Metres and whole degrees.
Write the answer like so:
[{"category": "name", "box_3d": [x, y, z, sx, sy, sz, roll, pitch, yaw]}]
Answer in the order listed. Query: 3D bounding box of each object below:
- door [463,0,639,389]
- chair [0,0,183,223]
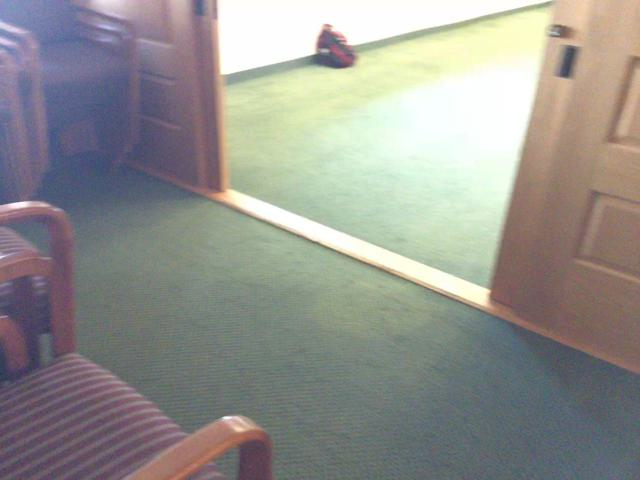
[{"category": "door", "box_3d": [1.060, -0.110, 1.700, 1.130, 1.220, 0.200, 21, 34, 34]}, {"category": "chair", "box_3d": [-1.330, -0.860, 2.880, 0.960, 1.160, 0.700, 21, 34, 34]}]
